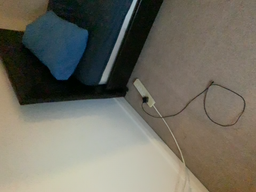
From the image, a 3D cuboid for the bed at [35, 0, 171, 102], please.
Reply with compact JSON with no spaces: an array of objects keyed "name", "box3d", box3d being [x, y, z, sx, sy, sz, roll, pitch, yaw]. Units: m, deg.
[{"name":"bed","box3d":[-0.090,-1.100,1.500,1.030,0.430,2.060,46,124,34]}]
